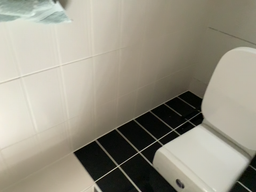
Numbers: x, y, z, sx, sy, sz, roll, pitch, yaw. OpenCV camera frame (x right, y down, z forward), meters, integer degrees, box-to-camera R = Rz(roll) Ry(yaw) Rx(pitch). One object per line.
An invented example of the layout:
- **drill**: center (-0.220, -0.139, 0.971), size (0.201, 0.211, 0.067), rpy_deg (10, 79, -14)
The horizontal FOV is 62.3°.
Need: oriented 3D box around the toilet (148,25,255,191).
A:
- **toilet**: center (0.540, 0.080, 1.040), size (0.370, 0.760, 0.650), rpy_deg (39, 139, 35)
